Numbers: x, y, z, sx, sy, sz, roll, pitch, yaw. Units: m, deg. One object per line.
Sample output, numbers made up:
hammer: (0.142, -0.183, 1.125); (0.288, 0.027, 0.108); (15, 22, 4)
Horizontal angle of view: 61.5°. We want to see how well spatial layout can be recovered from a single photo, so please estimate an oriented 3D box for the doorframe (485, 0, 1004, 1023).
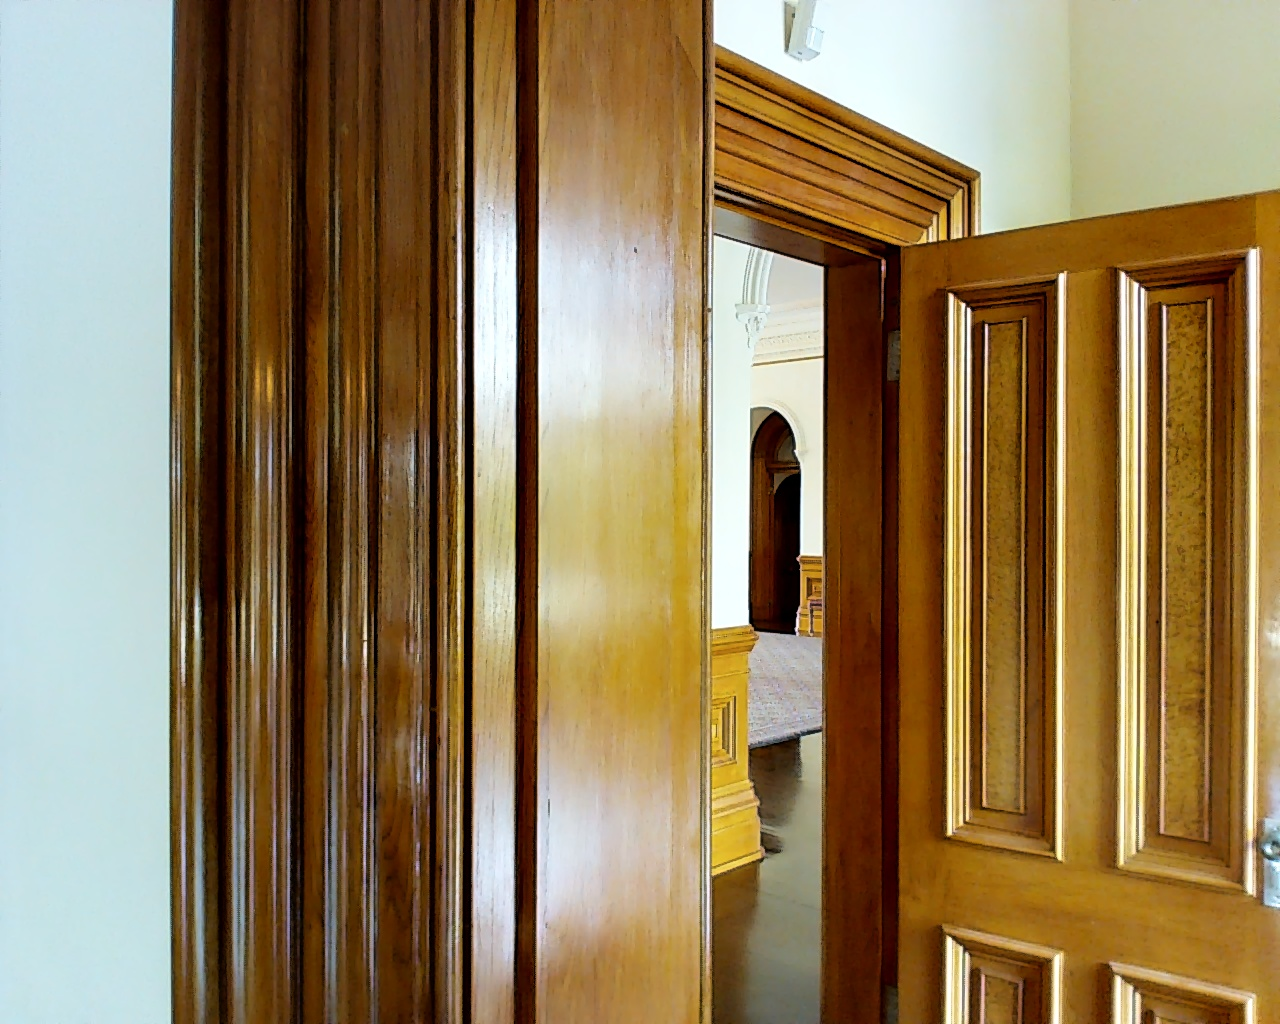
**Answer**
doorframe: (0.340, 0.290, 2.560); (0.400, 2.450, 1.450); (0, -1, 45)
